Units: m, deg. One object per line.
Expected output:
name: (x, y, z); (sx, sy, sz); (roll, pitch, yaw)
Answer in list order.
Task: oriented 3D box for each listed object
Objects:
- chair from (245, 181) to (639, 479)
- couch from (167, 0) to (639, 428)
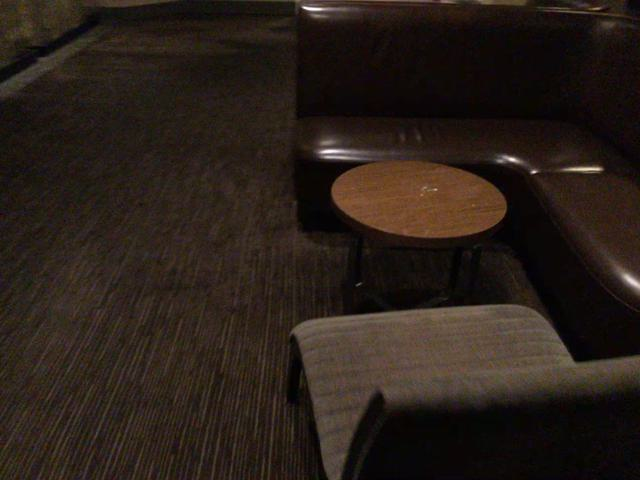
chair: (0.290, 0.350, 1.310); (0.810, 0.700, 0.830); (-9, 18, -5)
couch: (1.810, -0.430, 2.110); (4.100, 1.050, 1.940); (0, 31, 3)
